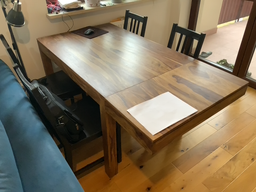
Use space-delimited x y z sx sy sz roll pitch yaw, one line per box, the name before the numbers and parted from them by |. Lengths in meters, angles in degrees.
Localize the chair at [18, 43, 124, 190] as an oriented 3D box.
chair | -0.370 0.140 1.560 0.480 0.840 0.480 -23 41 -28
